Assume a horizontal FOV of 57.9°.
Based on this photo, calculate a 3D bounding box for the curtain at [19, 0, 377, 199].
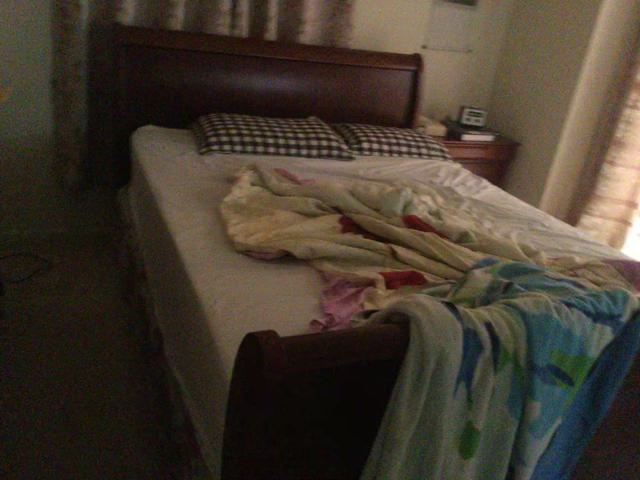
[{"bbox_3d":[-0.500,-1.080,2.610,1.520,1.740,0.320,-3,25,-22],"label":"curtain"}]
